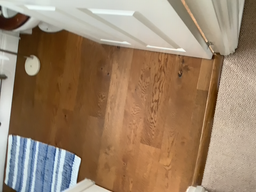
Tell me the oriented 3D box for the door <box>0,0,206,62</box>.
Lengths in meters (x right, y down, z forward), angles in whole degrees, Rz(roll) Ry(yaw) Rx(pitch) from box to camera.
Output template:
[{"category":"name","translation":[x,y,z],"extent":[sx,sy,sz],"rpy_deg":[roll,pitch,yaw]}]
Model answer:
[{"category":"door","translation":[-0.340,-0.300,0.480],"extent":[0.760,2.060,0.030],"rpy_deg":[15,96,26]}]
